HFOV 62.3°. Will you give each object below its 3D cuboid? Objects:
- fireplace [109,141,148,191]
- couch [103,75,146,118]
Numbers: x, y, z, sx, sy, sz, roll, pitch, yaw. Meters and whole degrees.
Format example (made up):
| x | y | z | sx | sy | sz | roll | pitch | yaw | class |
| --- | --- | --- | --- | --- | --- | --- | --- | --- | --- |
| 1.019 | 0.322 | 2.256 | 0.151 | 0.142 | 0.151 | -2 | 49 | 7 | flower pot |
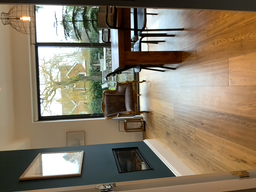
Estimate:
| x | y | z | sx | sy | sz | roll | pitch | yaw | class |
| --- | --- | --- | --- | --- | --- | --- | --- | --- | --- |
| -0.030 | 0.970 | 3.010 | 0.910 | 0.420 | 0.390 | -160 | 69 | -80 | fireplace |
| -0.110 | 0.030 | 4.590 | 0.680 | 0.820 | 0.740 | 116 | 151 | -71 | couch |
